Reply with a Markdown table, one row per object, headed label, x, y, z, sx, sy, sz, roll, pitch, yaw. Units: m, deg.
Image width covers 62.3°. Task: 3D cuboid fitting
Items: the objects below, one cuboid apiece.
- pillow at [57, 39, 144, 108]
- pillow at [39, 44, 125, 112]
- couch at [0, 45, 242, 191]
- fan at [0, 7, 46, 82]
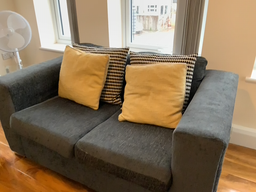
| label | x | y | z | sx | sy | sz | roll | pitch | yaw |
| --- | --- | --- | --- | --- | --- | --- | --- | --- | --- |
| pillow | -0.210 | -0.190 | 1.750 | 0.590 | 0.470 | 0.200 | 13 | 53 | 28 |
| pillow | -0.330 | -0.140 | 1.600 | 0.470 | 0.440 | 0.200 | 11 | 52 | 29 |
| couch | -0.070 | 0.120 | 1.610 | 1.500 | 0.680 | 0.920 | 13 | 29 | 26 |
| fan | -1.270 | -0.590 | 2.390 | 0.510 | 0.730 | 0.430 | -7 | 27 | -13 |
